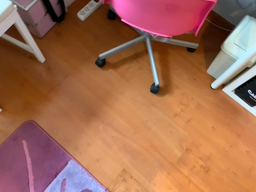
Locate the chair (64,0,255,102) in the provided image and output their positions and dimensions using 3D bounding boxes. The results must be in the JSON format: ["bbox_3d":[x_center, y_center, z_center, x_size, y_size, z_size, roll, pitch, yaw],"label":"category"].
[{"bbox_3d":[0.160,-0.490,1.030,0.630,0.750,0.710,16,71,0],"label":"chair"}]
